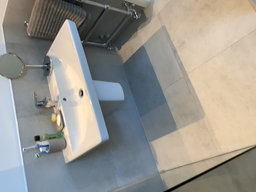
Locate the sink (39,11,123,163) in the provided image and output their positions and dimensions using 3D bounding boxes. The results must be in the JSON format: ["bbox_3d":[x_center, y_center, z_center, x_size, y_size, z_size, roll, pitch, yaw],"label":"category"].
[{"bbox_3d":[-0.360,-0.050,1.410,0.480,0.160,0.840,-38,64,43],"label":"sink"}]
